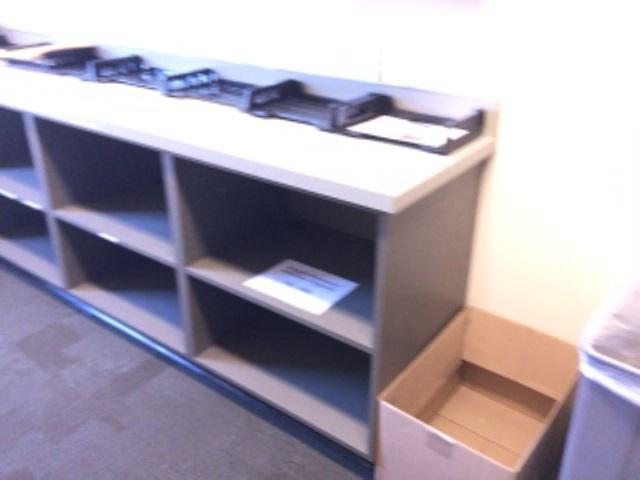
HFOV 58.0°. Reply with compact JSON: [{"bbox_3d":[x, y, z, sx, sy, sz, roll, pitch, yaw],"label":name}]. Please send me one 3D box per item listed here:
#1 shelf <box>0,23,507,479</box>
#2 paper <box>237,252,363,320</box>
[{"bbox_3d":[-0.910,-0.240,2.360,3.020,1.040,0.640,18,29,32],"label":"shelf"},{"bbox_3d":[-0.060,0.130,1.750,0.300,0.030,0.230,18,29,32],"label":"paper"}]
